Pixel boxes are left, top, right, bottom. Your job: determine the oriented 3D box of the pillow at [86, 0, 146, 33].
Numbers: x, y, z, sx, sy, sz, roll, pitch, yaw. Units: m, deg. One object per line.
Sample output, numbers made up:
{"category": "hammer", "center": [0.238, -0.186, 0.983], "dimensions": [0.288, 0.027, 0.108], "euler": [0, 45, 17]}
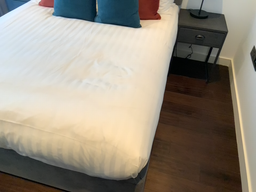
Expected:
{"category": "pillow", "center": [-0.080, -0.760, 1.660], "dimensions": [0.400, 0.340, 0.200], "euler": [22, 43, 0]}
